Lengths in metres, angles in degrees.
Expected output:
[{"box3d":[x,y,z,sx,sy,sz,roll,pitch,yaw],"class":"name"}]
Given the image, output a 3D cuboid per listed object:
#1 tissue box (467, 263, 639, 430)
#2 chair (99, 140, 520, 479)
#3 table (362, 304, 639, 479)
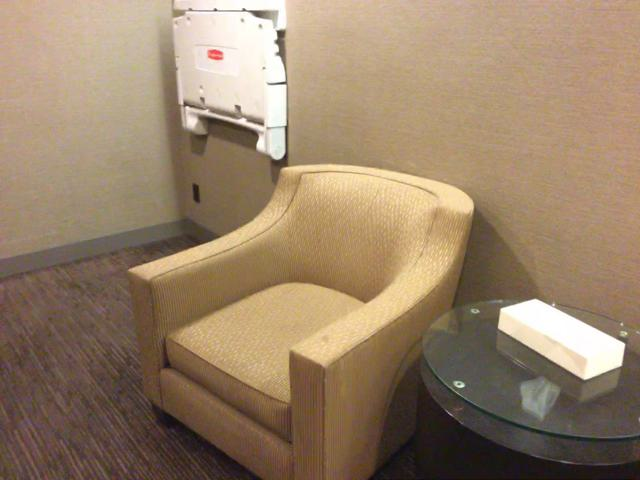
[{"box3d":[0.580,0.240,1.420,0.220,0.230,0.340,-14,25,-37],"class":"tissue box"},{"box3d":[-0.010,0.230,1.950,0.880,0.900,0.980,17,25,37],"class":"chair"},{"box3d":[0.440,0.480,1.380,0.360,0.390,0.580,-14,25,-37],"class":"table"}]
